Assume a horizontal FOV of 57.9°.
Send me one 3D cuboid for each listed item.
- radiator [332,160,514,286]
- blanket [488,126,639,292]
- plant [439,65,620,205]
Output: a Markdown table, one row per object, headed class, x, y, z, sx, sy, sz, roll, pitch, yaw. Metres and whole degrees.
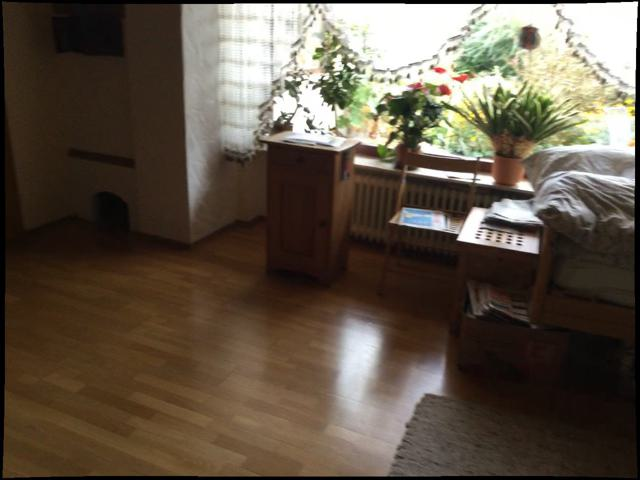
| class | x | y | z | sx | sy | sz | roll | pitch | yaw |
| --- | --- | --- | --- | --- | --- | --- | --- | --- | --- |
| radiator | 0.619 | -0.130 | 3.560 | 0.989 | 0.510 | 0.380 | 12 | 24 | 21 |
| blanket | 1.369 | -0.140 | 2.420 | 1.109 | 0.390 | 0.920 | 12 | 24 | 21 |
| plant | 1.149 | -0.611 | 3.230 | 0.809 | 0.611 | 0.410 | 12 | 24 | 21 |
